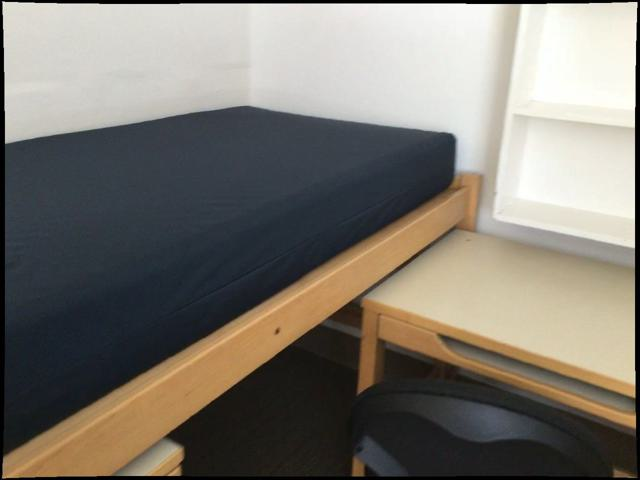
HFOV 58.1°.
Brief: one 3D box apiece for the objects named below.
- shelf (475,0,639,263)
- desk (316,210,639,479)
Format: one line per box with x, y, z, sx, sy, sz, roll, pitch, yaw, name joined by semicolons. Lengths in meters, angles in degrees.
0.967;-0.351;1.430;1.028;0.842;0.230;16;27;32;shelf
0.748;0.531;1.570;1.338;0.802;0.740;16;27;32;desk
